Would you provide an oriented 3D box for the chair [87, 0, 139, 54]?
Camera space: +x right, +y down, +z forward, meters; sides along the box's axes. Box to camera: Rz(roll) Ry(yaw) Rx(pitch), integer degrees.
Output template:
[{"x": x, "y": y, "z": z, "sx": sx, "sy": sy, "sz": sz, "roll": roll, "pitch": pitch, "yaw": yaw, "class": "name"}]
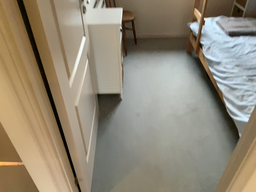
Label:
[{"x": -0.180, "y": -1.110, "z": 2.900, "sx": 0.510, "sy": 0.820, "sz": 0.510, "roll": 14, "pitch": 42, "yaw": 16, "class": "chair"}]
